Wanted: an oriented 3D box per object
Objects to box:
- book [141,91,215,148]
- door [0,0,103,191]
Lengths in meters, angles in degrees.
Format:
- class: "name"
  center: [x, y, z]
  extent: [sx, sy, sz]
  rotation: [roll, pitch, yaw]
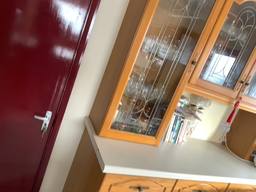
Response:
- class: "book"
  center: [0.430, 0.210, 1.830]
  extent: [0.490, 0.360, 0.210]
  rotation: [14, 14, -27]
- class: "door"
  center: [-0.730, -0.080, 1.350]
  extent: [0.750, 1.940, 0.040]
  rotation: [15, 14, -27]
